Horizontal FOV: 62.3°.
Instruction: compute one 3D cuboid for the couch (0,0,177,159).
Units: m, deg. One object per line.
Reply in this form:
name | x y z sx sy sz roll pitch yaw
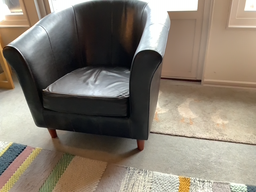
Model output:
couch | -0.140 -0.190 1.360 0.810 0.700 0.760 5 33 14
